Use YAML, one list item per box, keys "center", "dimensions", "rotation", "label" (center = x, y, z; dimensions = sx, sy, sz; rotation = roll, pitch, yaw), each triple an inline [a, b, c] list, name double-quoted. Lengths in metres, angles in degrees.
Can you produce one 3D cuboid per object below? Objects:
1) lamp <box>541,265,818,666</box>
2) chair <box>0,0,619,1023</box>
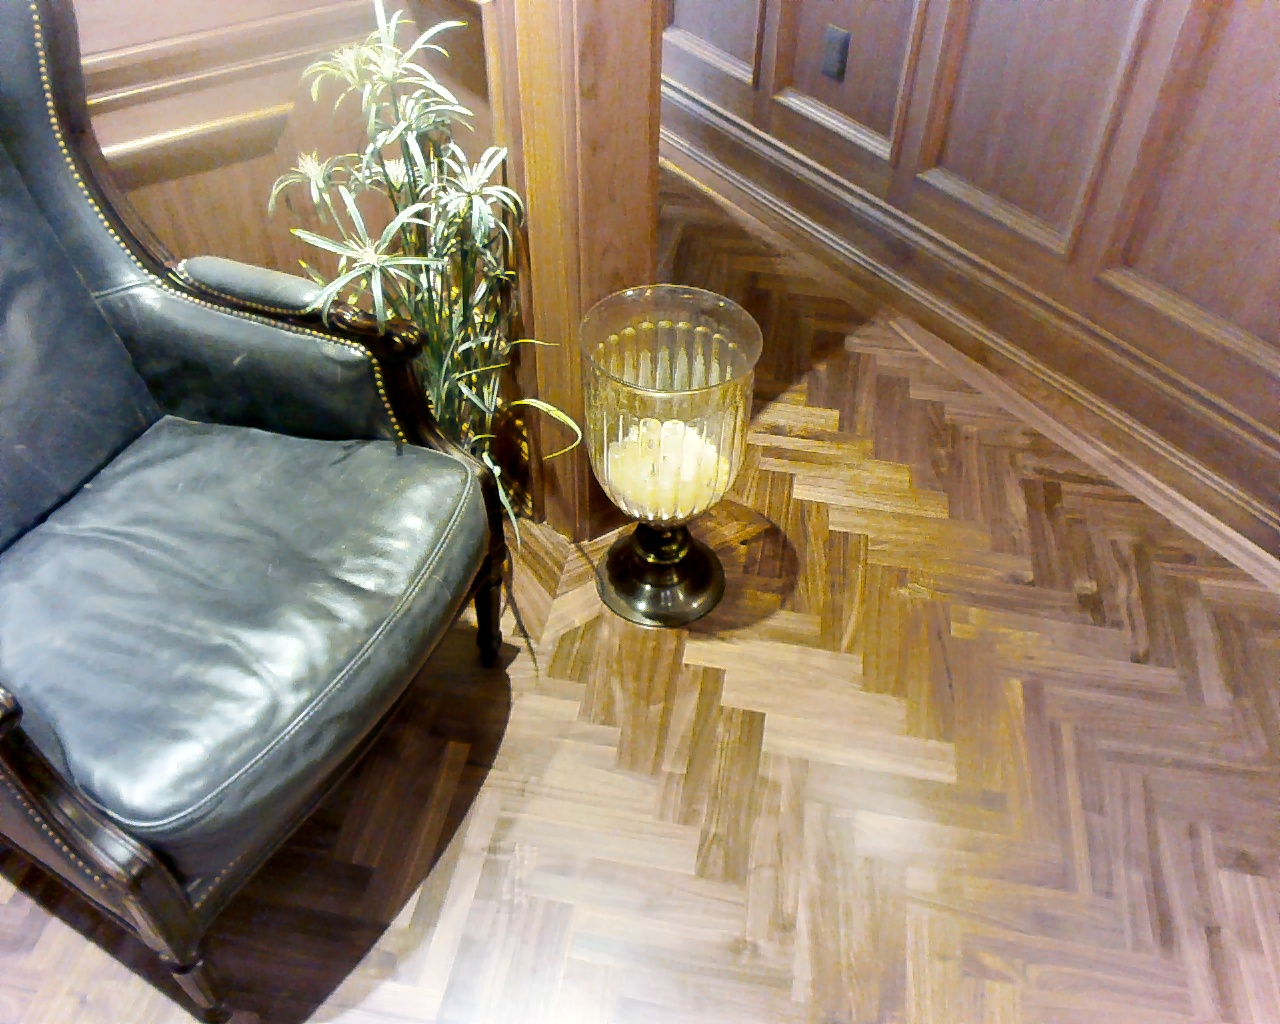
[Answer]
- center: [0.050, -0.070, 1.770]
  dimensions: [0.300, 0.530, 0.290]
  rotation: [-23, 49, -24]
  label: "lamp"
- center: [-0.700, -0.090, 1.370]
  dimensions: [1.070, 1.110, 0.860]
  rotation: [19, 47, 17]
  label: "chair"
